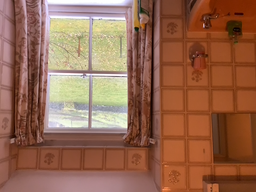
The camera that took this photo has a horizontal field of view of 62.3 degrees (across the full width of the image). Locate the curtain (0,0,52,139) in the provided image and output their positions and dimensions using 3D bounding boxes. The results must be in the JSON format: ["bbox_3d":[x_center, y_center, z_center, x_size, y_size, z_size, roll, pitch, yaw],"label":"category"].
[{"bbox_3d":[-0.730,-0.260,1.540,0.250,1.110,0.200,0,175,-2],"label":"curtain"}]

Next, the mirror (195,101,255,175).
[{"bbox_3d":[0.600,0.240,1.270,0.340,0.410,0.150,0,175,4],"label":"mirror"}]
